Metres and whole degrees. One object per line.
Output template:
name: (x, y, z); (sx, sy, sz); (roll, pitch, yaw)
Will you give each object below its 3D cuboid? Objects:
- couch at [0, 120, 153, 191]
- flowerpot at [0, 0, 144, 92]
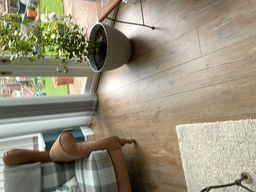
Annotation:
couch: (-0.450, 0.820, 1.790); (0.870, 0.980, 0.980); (-26, 71, 53)
flowerpot: (-0.490, -0.410, 1.800); (0.630, 1.030, 0.370); (62, 138, 31)
